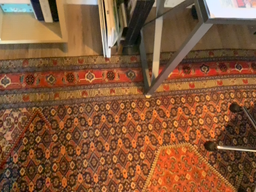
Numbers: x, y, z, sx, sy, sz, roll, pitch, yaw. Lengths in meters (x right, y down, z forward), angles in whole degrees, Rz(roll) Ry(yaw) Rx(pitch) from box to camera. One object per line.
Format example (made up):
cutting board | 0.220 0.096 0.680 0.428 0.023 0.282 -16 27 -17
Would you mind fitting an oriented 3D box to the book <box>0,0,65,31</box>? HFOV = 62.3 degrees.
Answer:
book | -0.510 -0.520 1.090 0.330 0.240 0.260 -3 72 -12
